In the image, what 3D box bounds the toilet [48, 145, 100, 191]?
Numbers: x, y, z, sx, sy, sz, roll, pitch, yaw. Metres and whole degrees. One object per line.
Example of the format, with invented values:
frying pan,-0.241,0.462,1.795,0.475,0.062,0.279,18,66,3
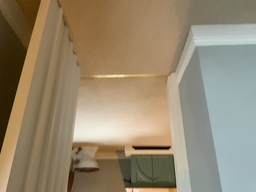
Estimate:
toilet,-0.920,1.440,3.780,0.730,0.980,0.560,-2,153,1
